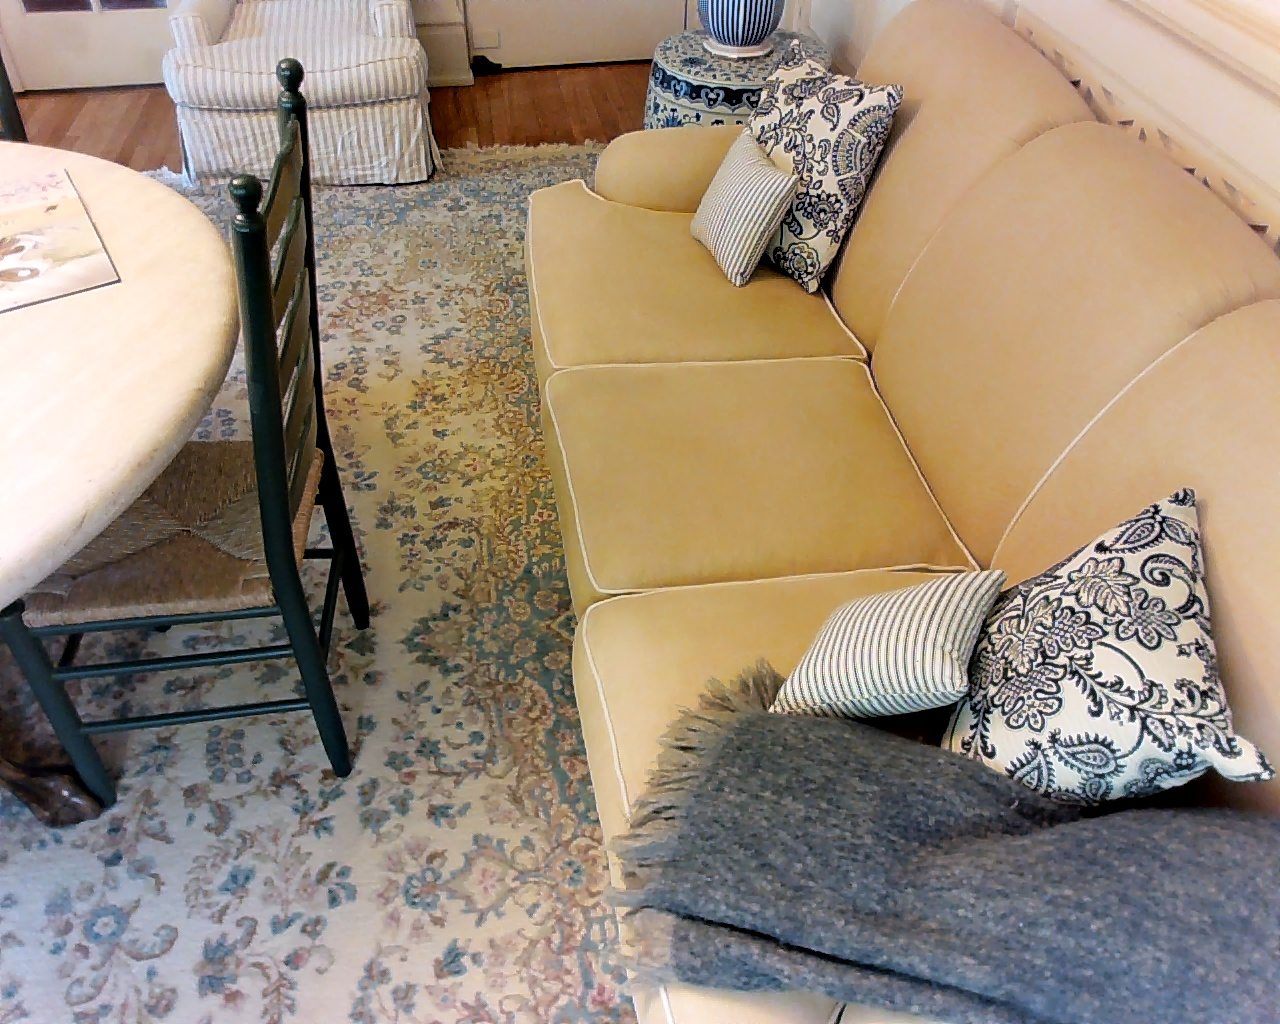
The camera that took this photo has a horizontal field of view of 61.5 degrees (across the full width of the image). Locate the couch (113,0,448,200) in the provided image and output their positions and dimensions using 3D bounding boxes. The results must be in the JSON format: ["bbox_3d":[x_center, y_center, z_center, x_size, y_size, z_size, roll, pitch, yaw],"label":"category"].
[{"bbox_3d":[-1.160,-1.710,3.690,0.890,0.790,1.080,-5,42,-7],"label":"couch"}]

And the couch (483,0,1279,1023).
[{"bbox_3d":[0.360,-0.110,1.770,1.070,0.930,2.290,-5,42,-7],"label":"couch"}]
